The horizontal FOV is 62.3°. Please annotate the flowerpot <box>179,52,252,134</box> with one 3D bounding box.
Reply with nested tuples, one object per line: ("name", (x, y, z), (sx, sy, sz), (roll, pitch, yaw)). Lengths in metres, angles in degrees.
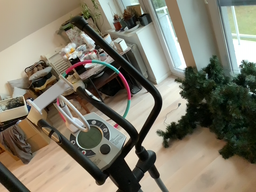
("flowerpot", (0.880, -0.040, 2.140), (0.390, 0.610, 0.440), (-32, 31, -5))
